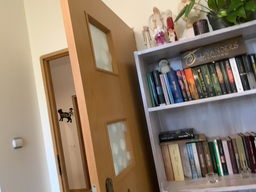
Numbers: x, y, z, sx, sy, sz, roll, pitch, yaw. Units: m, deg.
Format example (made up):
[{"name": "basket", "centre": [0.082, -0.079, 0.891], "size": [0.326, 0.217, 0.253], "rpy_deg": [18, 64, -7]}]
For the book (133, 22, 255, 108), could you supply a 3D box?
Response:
[{"name": "book", "centre": [0.530, -0.170, 1.290], "size": [0.890, 0.320, 0.390], "rpy_deg": [-11, -4, 16]}]

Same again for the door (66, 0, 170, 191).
[{"name": "door", "centre": [0.100, 0.540, 1.140], "size": [0.090, 2.100, 0.860], "rpy_deg": [-11, -4, 17]}]
